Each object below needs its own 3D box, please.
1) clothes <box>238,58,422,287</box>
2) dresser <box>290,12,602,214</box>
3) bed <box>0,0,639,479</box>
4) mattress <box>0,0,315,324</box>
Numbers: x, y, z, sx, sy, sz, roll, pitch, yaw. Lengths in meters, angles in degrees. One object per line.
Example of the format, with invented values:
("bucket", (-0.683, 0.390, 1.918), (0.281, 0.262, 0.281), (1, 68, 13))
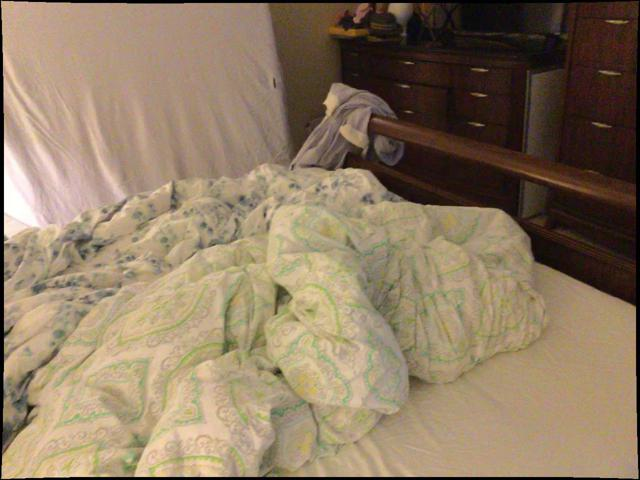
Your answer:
("clothes", (0.060, -0.331, 2.580), (0.559, 0.781, 0.540), (-21, 32, -27))
("dresser", (0.748, -0.972, 3.950), (1.878, 0.942, 0.739), (22, 38, 40))
("bed", (-0.389, 0.241, 1.470), (2.496, 1.312, 2.039), (-21, 32, -26))
("mattress", (-1.157, -0.501, 2.850), (2.096, 1.483, 0.560), (-14, 30, -17))
